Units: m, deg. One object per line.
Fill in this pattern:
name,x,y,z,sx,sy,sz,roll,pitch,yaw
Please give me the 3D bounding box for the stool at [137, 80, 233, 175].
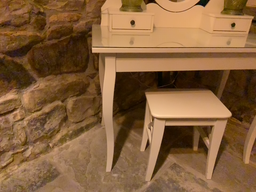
stool,0.290,0.180,1.260,0.410,0.470,0.300,0,29,-5
